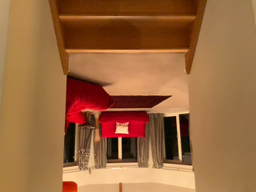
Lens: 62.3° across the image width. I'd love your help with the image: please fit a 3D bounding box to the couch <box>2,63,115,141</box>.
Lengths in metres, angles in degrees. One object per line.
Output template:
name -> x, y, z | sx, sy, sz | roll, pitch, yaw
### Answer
couch -> -0.930, 0.180, 3.020 | 1.050, 0.860, 1.080 | -7, 169, 31
